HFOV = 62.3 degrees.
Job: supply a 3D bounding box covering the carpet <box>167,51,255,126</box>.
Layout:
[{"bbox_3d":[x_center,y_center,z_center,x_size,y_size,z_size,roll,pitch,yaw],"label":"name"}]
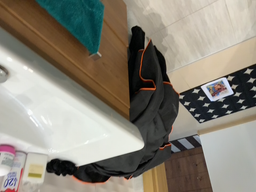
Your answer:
[{"bbox_3d":[1.170,-0.130,1.860,1.460,0.100,0.720,-26,138,30],"label":"carpet"}]
